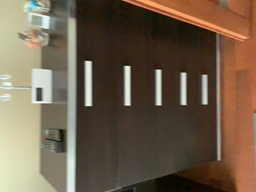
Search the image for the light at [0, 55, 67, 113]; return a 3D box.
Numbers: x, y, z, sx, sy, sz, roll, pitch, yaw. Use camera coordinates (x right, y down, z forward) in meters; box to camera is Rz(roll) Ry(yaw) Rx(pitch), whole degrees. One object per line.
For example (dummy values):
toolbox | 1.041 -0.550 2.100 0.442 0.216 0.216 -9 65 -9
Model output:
light | -0.530 -0.050 0.950 0.190 0.440 0.230 4 91 55
